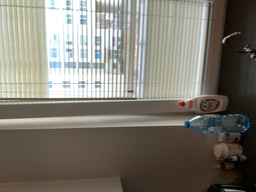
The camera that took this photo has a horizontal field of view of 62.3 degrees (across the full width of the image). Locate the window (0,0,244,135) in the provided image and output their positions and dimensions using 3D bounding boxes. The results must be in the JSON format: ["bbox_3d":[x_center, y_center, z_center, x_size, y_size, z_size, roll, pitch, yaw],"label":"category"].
[{"bbox_3d":[-0.160,-0.570,1.000,0.150,1.460,1.490,-143,54,-79],"label":"window"}]
